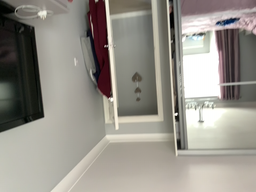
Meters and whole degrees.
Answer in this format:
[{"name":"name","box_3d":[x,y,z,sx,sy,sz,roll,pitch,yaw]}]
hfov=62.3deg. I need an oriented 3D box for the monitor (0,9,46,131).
[{"name":"monitor","box_3d":[-0.720,-0.130,1.010,0.050,0.640,0.980,-3,-174,10]}]
